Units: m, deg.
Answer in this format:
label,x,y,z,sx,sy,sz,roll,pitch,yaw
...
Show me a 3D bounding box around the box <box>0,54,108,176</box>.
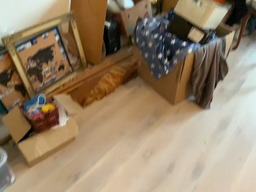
label,x,y,z,sx,sy,sz,roll,pitch,yaw
box,-0.600,0.090,1.600,0.580,0.390,0.670,-32,52,-29
